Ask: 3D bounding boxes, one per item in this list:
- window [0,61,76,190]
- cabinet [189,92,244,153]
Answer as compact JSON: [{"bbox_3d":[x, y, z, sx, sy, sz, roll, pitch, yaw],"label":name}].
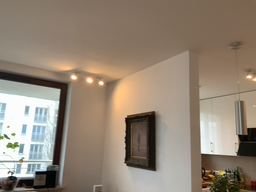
[{"bbox_3d":[-1.800,0.400,3.030,1.920,1.710,0.360,10,-14,-33],"label":"window"},{"bbox_3d":[1.890,0.610,4.690,0.340,1.200,1.070,10,-14,-33],"label":"cabinet"}]
